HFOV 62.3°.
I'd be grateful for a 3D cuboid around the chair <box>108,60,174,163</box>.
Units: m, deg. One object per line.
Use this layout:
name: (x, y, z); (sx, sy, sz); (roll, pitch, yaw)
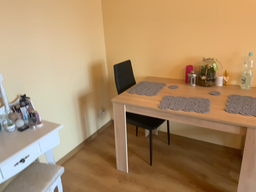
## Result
chair: (0.160, 0.140, 2.360); (0.500, 0.950, 0.480); (13, 26, 33)
